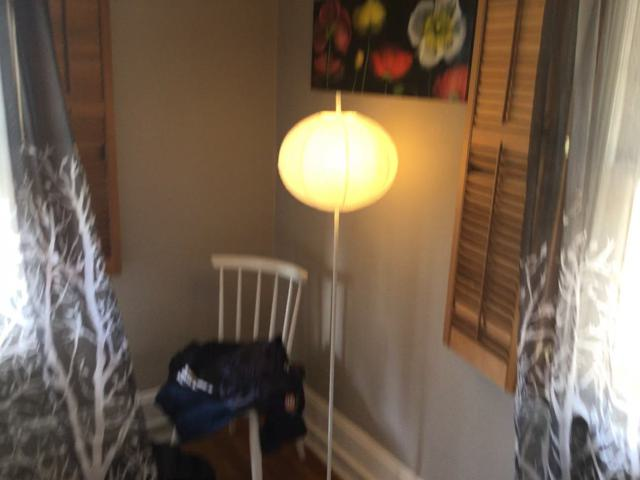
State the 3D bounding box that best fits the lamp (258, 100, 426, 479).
[{"bbox_3d":[0.040,0.290,1.860,0.350,1.430,0.350,-7,16,-33],"label":"lamp"}]
